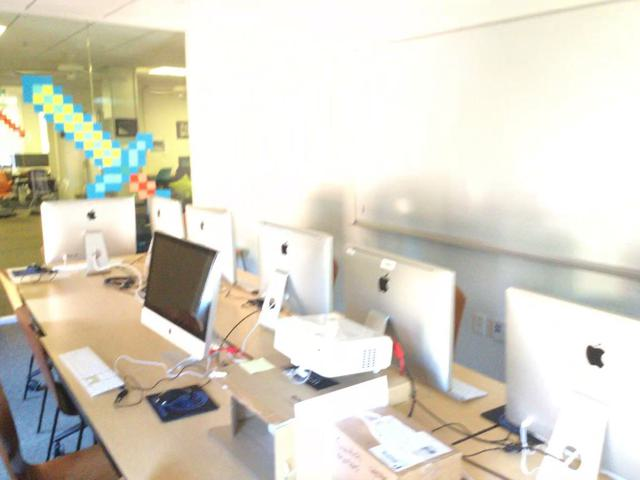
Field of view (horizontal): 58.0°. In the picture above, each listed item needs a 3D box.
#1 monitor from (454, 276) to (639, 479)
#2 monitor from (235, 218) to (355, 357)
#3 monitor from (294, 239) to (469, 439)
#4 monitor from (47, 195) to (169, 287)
[{"bbox_3d":[0.570,0.370,1.250,0.200,0.450,0.540,-9,14,-33],"label":"monitor"},{"bbox_3d":[-0.110,0.160,2.300,0.230,0.410,0.520,-9,14,-33],"label":"monitor"},{"bbox_3d":[0.170,0.270,1.820,0.250,0.440,0.530,-9,14,-33],"label":"monitor"},{"bbox_3d":[-1.210,-0.010,3.340,0.600,0.430,0.180,-9,14,-33],"label":"monitor"}]
